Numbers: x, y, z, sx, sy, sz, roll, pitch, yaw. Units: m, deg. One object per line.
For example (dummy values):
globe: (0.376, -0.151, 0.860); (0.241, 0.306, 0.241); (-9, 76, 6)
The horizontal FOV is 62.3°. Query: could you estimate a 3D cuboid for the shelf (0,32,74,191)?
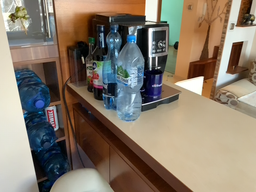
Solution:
shelf: (-0.590, 0.270, 1.440); (0.210, 1.290, 0.510); (-15, 29, -32)
